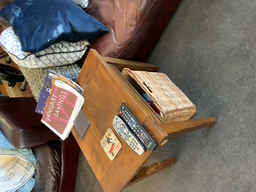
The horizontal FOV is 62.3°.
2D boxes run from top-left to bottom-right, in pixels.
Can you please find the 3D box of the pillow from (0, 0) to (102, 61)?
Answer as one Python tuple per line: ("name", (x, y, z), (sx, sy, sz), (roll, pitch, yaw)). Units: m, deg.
("pillow", (-0.410, -0.420, 1.100), (0.160, 0.400, 0.410), (-59, 2, 33))
